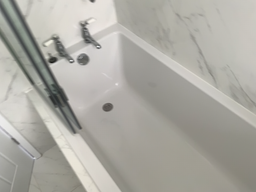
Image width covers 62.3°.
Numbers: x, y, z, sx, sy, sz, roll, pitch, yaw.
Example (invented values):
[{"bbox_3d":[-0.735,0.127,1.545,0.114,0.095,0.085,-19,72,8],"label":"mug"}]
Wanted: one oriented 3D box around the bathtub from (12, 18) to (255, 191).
[{"bbox_3d":[0.150,0.330,1.080,0.710,0.590,1.620,-33,55,-18],"label":"bathtub"}]
